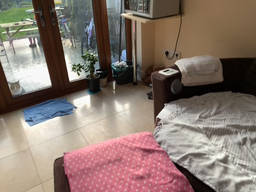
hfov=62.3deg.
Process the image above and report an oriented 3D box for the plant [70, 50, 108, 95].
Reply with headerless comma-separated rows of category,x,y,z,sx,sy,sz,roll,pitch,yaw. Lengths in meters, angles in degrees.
plant,-0.500,-0.310,2.770,0.370,0.470,0.220,-18,32,-25
